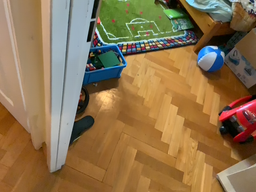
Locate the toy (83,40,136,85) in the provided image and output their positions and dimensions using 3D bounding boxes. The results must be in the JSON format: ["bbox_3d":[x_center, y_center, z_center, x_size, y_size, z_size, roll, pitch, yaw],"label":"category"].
[{"bbox_3d":[-0.150,-0.270,1.650,0.310,0.140,0.280,-13,65,-26],"label":"toy"}]

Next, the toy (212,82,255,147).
[{"bbox_3d":[1.110,0.110,1.740,0.490,0.540,0.320,-13,65,-26],"label":"toy"}]
